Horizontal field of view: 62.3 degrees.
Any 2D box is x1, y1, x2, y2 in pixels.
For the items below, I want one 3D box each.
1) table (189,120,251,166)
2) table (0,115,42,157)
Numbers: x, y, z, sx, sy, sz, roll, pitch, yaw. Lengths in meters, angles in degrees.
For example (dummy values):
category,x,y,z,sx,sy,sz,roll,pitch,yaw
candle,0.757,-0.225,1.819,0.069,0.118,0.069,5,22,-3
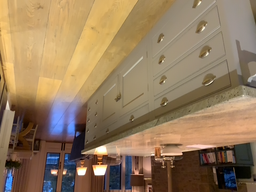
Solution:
category,x,y,z,sx,sy,sz,roll,pitch,yaw
table,2.340,1.290,5.580,0.630,1.020,1.300,9,159,-24
table,-3.160,1.240,5.980,0.970,0.790,2.350,11,158,-26
